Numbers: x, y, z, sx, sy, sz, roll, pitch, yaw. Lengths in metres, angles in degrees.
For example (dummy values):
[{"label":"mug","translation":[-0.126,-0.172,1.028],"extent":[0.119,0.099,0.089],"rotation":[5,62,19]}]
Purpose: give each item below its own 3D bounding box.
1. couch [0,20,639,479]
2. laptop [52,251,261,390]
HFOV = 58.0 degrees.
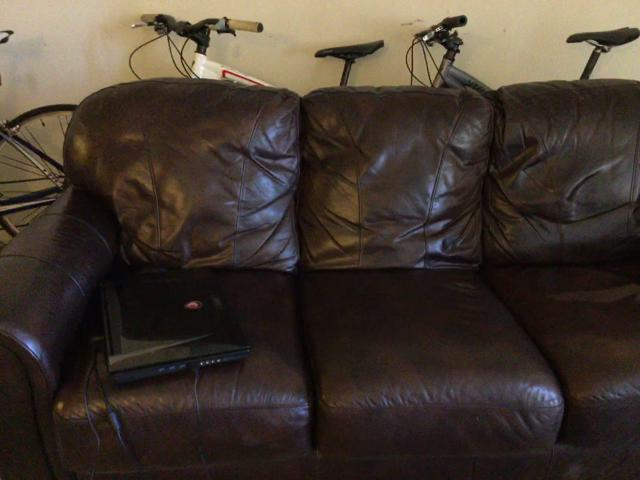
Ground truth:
[{"label":"couch","translation":[0.240,0.100,1.570],"extent":[2.090,1.070,0.910],"rotation":[4,24,-5]},{"label":"laptop","translation":[-0.350,0.170,1.400],"extent":[0.390,0.050,0.510],"rotation":[4,24,-5]}]
